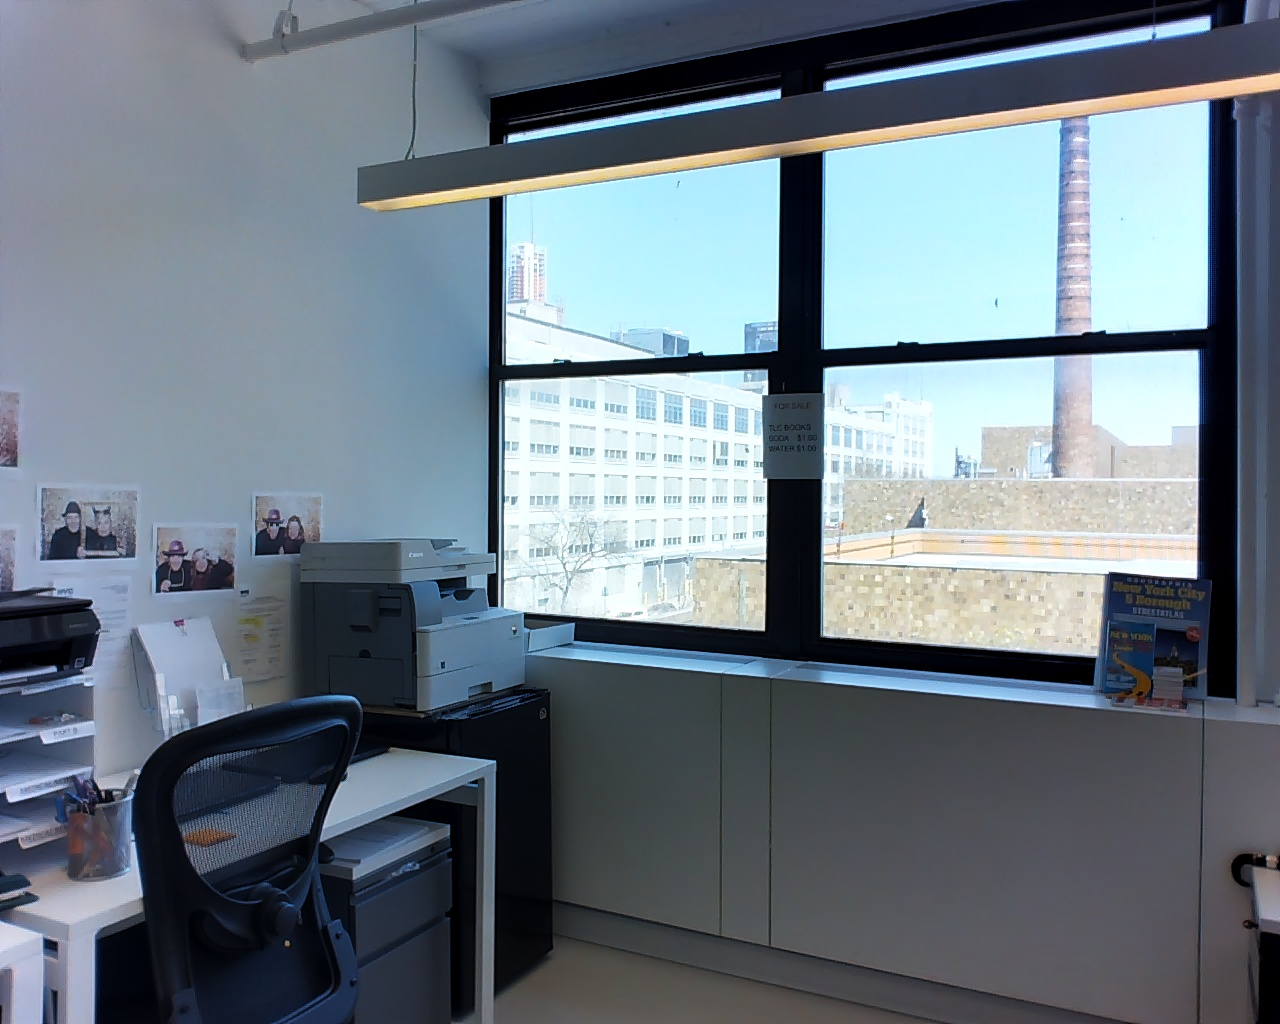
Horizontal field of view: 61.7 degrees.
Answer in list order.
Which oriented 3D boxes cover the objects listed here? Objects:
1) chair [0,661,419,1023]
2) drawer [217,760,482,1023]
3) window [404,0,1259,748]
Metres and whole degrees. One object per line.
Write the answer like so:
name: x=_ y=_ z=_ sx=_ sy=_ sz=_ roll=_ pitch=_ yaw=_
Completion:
chair: x=-0.910 y=0.890 z=2.130 sx=0.700 sy=1.060 sz=0.590 roll=1 pitch=1 yaw=29
drawer: x=-0.740 y=1.070 z=2.780 sx=0.440 sy=0.700 sz=0.500 roll=1 pitch=1 yaw=28
window: x=0.440 y=-0.500 z=3.260 sx=2.460 sy=2.060 sz=0.550 roll=1 pitch=1 yaw=27
